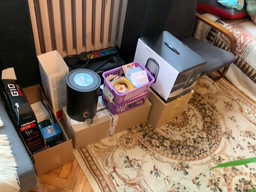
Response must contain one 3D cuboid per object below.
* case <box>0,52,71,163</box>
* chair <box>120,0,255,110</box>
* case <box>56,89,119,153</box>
[{"bbox_3d":[-0.560,0.050,1.220,0.270,0.350,0.470,-21,55,-30],"label":"case"},{"bbox_3d":[0.500,-0.560,1.750,0.680,0.890,0.770,-25,57,-33],"label":"chair"},{"bbox_3d":[-0.260,0.150,1.360,0.290,0.200,0.250,-24,56,-32],"label":"case"}]
